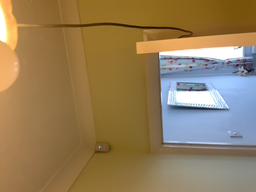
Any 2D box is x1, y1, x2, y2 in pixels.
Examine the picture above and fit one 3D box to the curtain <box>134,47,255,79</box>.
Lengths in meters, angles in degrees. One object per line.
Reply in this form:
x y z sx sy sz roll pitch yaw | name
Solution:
1.250 -0.570 3.710 0.290 2.260 0.390 -57 -36 -67 | curtain
